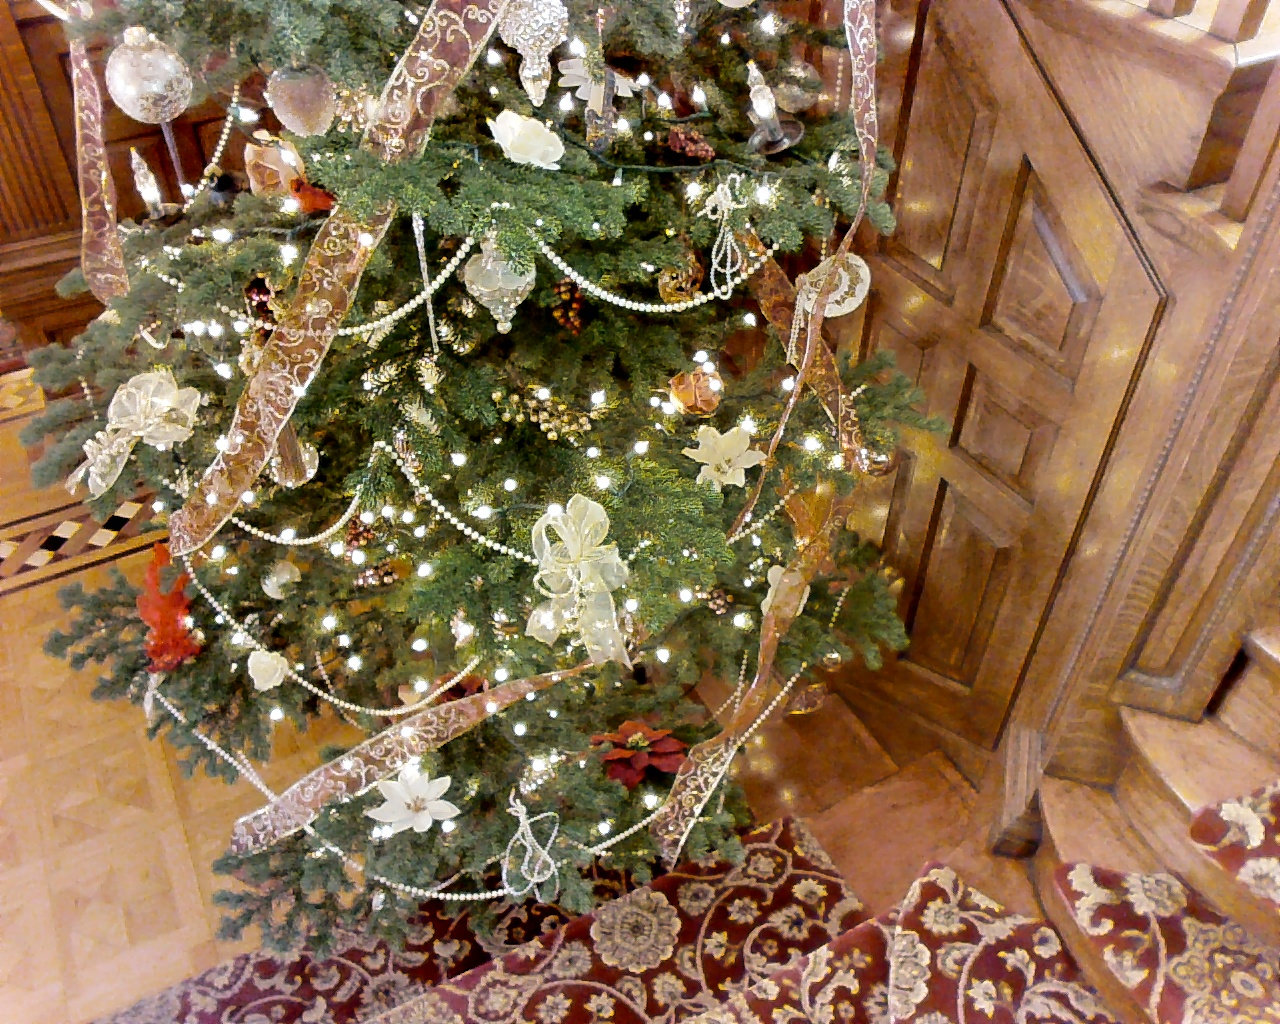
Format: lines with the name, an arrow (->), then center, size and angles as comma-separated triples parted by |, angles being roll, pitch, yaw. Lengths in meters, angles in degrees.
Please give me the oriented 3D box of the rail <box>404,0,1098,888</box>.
rail -> 0.050, -1.230, 1.040 | 0.440, 4.230, 1.090 | -19, 47, -21
